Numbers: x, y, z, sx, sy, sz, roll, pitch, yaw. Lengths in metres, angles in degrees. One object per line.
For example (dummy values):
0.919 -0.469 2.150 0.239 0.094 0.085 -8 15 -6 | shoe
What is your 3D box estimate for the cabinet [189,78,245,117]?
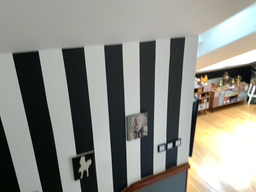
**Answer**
2.430 0.010 5.820 1.300 0.680 0.610 -11 23 -25 | cabinet
